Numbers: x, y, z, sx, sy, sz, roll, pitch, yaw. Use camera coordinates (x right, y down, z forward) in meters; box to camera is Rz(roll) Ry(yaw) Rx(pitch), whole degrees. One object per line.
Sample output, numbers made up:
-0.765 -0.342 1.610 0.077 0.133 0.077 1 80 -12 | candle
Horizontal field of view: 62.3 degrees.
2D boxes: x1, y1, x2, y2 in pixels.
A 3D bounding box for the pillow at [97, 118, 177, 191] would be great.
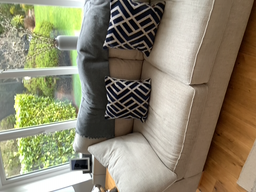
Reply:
0.030 0.500 1.820 0.710 0.350 0.250 42 132 51 | pillow
